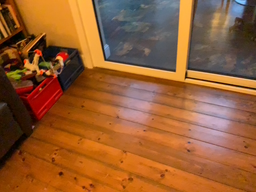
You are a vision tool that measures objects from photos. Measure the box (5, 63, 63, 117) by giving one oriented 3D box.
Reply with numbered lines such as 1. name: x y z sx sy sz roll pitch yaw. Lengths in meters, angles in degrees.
1. box: -0.810 -0.060 1.880 0.230 0.300 0.340 11 45 20
